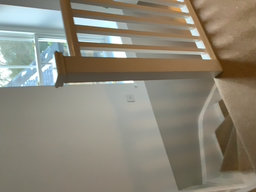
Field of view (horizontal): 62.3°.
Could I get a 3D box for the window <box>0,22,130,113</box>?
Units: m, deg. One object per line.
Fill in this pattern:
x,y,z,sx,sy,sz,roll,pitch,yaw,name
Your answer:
-0.740,-0.350,2.380,0.090,1.420,0.980,-45,55,55,window
